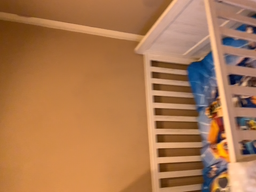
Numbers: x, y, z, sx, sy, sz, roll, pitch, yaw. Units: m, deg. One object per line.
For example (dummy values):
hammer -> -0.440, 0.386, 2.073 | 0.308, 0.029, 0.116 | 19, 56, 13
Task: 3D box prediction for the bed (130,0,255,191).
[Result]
bed -> 0.640, 0.210, 1.390 | 0.810, 0.930, 1.550 | 142, 127, -63
